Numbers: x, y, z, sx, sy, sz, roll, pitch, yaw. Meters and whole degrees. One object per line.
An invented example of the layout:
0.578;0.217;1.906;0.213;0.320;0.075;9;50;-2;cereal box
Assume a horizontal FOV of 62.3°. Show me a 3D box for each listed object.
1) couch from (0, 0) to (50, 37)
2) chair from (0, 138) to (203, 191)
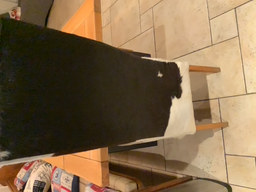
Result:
-2.160;-1.920;4.300;0.770;0.830;1.010;58;133;37;couch
-0.750;0.860;2.290;2.990;0.900;0.610;-12;80;53;chair
